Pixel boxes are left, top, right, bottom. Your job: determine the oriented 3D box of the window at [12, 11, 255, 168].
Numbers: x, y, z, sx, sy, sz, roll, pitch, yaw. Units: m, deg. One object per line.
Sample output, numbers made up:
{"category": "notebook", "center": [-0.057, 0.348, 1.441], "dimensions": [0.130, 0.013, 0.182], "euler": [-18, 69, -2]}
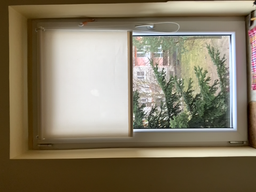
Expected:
{"category": "window", "center": [0.070, -0.050, 1.300], "dimensions": [0.140, 1.450, 0.900], "euler": [107, 163, -86]}
